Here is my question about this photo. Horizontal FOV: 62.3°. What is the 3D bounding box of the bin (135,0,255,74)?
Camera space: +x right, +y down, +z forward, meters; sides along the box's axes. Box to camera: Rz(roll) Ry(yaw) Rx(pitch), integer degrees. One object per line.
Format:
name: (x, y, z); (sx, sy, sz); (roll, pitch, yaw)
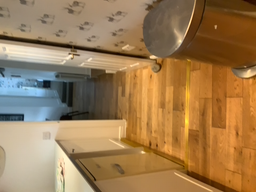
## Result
bin: (0.460, -0.340, 1.180); (0.410, 0.720, 0.330); (0, 88, 63)
